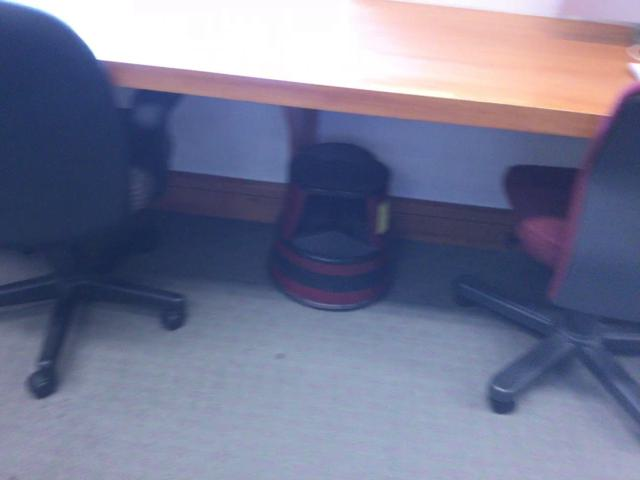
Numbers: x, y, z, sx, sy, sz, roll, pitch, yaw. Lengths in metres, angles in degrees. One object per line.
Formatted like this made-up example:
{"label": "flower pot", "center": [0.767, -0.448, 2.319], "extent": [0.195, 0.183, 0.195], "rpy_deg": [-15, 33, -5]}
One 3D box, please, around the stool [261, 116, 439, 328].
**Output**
{"label": "stool", "center": [0.080, -0.060, 1.700], "extent": [0.400, 0.400, 0.400], "rpy_deg": [11, 37, -2]}

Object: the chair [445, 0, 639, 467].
{"label": "chair", "center": [0.780, -0.030, 1.360], "extent": [0.670, 0.880, 0.680], "rpy_deg": [11, 37, -2]}

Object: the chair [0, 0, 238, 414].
{"label": "chair", "center": [-0.640, -0.180, 1.370], "extent": [0.710, 0.900, 0.610], "rpy_deg": [11, 37, -2]}
